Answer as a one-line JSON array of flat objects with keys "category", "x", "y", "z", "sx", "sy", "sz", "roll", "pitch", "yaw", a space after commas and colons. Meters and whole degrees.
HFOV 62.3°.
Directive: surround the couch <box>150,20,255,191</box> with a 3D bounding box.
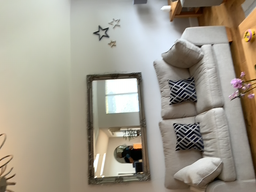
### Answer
[{"category": "couch", "x": 0.950, "y": 0.250, "z": 3.000, "sx": 1.040, "sy": 0.950, "sz": 2.250, "roll": 96, "pitch": 171, "yaw": -76}]
